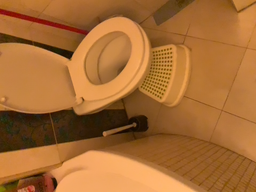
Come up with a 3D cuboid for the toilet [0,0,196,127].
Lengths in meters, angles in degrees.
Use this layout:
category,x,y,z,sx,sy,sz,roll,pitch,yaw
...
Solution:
category,x,y,z,sx,sy,sz,roll,pitch,yaw
toilet,-0.130,-0.170,1.020,0.520,0.850,0.410,-30,72,30
